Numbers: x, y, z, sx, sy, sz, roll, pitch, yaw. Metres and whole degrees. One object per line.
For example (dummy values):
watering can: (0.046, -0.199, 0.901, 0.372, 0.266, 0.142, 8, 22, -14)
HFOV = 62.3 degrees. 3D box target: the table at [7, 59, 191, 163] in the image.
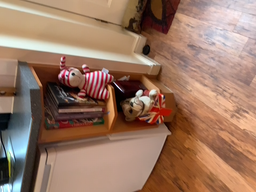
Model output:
table: (-0.110, 0.050, 1.190, 0.340, 0.930, 0.300, 44, 122, 42)
